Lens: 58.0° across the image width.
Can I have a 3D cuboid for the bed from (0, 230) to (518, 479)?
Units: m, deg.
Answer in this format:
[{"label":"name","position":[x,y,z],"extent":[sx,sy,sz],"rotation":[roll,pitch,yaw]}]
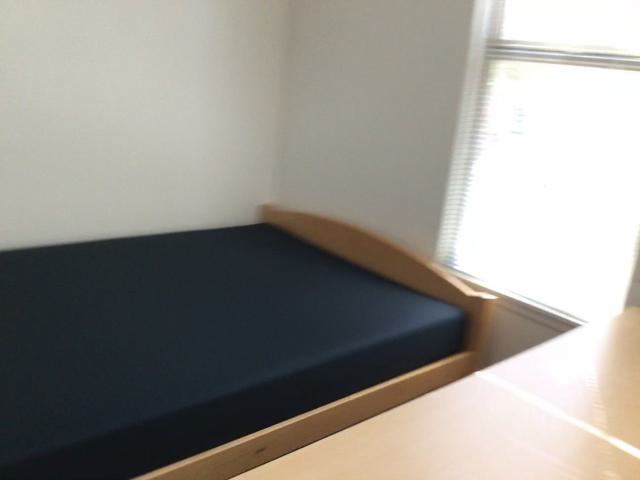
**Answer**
[{"label":"bed","position":[-0.570,0.430,2.080],"extent":[2.240,0.570,1.440],"rotation":[-7,13,-40]}]
